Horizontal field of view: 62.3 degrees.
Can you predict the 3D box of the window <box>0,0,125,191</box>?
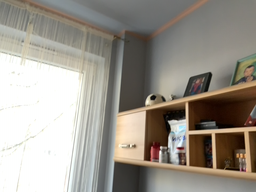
[{"bbox_3d":[-0.820,0.120,1.320,1.620,1.810,0.200,13,-17,-32],"label":"window"}]
